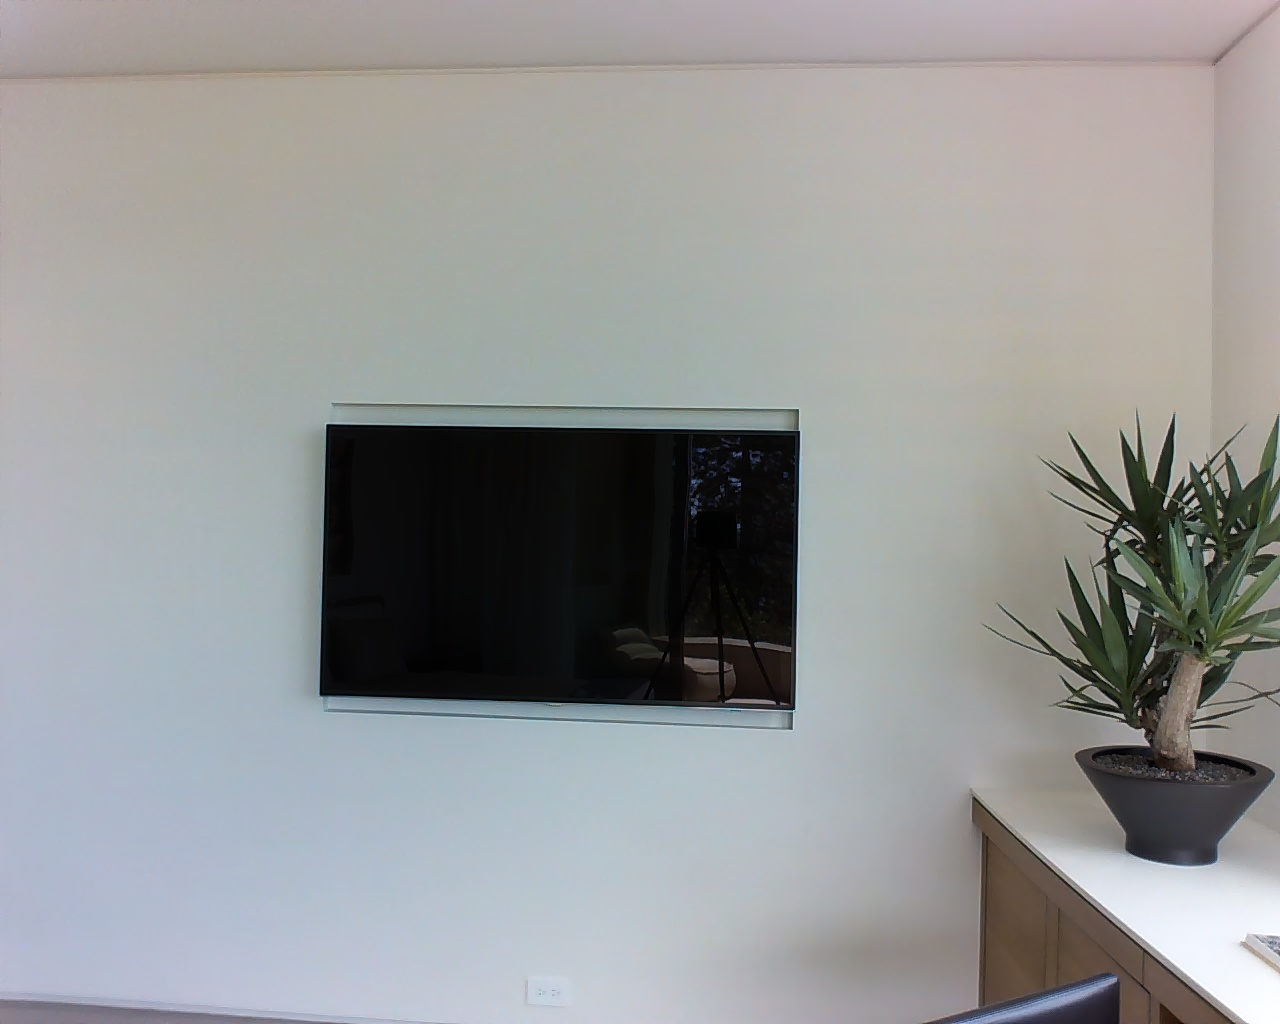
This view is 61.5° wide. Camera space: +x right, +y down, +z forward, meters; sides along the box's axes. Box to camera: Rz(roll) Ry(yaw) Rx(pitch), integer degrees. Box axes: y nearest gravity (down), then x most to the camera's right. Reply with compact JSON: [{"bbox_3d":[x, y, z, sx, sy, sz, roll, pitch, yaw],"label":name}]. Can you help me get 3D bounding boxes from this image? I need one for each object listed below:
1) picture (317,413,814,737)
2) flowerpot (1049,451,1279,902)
[{"bbox_3d":[-0.220,0.170,3.120,1.410,0.890,0.120,1,-1,5],"label":"picture"},{"bbox_3d":[1.280,0.330,2.400,0.530,0.890,0.530,1,-1,2],"label":"flowerpot"}]
